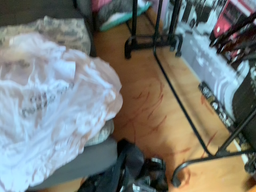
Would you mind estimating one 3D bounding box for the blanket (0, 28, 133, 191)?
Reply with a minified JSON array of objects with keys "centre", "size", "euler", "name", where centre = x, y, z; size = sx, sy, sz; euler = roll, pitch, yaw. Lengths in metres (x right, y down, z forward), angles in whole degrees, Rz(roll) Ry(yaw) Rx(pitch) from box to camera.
[{"centre":[-0.490,0.130,1.060],"size":[0.860,0.520,0.700],"euler":[-9,51,-10],"name":"blanket"}]
